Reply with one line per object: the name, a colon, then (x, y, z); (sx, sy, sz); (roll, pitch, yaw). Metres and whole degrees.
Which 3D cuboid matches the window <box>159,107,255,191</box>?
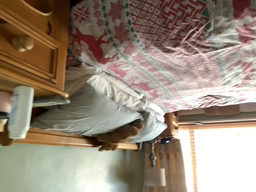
window: (1.330, 0.910, 2.510); (1.900, 1.510, 0.120); (-7, 164, 24)
